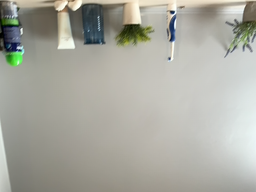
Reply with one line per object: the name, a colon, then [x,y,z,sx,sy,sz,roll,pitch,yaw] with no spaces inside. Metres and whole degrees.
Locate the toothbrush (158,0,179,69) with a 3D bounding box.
toothbrush: [0.160,-0.240,0.850,0.050,0.250,0.080,-5,-167,-14]

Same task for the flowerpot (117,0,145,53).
flowerpot: [0.010,-0.270,0.820,0.080,0.200,0.100,-5,-167,-14]
